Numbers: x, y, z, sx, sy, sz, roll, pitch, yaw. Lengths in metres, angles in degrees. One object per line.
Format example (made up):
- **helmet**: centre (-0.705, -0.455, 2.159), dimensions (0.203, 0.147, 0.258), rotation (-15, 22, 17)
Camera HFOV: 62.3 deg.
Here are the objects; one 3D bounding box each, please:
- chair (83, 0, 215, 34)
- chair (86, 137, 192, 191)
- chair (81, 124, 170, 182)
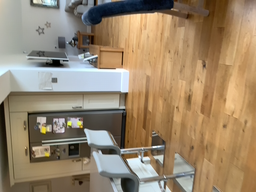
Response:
- **chair**: centre (0.180, -0.970, 1.920), dimensions (0.500, 1.090, 0.640), rotation (-156, 66, -69)
- **chair**: centre (0.100, 0.810, 2.350), dimensions (0.440, 1.040, 0.490), rotation (-143, 55, -66)
- **chair**: centre (-0.050, 0.700, 2.780), dimensions (0.440, 1.040, 0.490), rotation (-143, 55, -66)
